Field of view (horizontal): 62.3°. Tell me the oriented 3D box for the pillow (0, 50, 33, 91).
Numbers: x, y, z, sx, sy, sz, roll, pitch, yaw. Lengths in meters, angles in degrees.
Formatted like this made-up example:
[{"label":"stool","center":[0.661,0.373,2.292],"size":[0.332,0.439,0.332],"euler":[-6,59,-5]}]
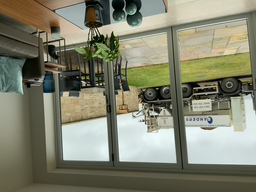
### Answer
[{"label":"pillow","center":[-1.530,-0.300,2.700],"size":[0.400,0.440,0.400],"euler":[-4,178,21]}]
